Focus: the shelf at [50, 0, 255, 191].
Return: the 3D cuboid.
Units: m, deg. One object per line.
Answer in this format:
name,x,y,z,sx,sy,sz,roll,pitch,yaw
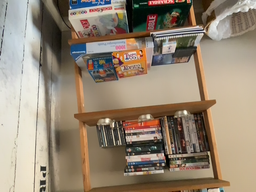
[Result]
shelf,0.060,0.010,1.040,0.680,1.510,0.470,-6,161,2
